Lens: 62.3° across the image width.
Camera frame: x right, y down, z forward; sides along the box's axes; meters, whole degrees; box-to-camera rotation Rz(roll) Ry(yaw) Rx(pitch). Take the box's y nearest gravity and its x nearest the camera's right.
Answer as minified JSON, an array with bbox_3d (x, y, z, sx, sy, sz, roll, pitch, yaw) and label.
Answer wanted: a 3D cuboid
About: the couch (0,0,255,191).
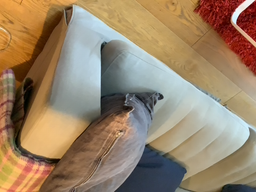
[{"bbox_3d":[0.450,0.560,1.500,2.500,0.770,1.050,26,124,-32],"label":"couch"}]
